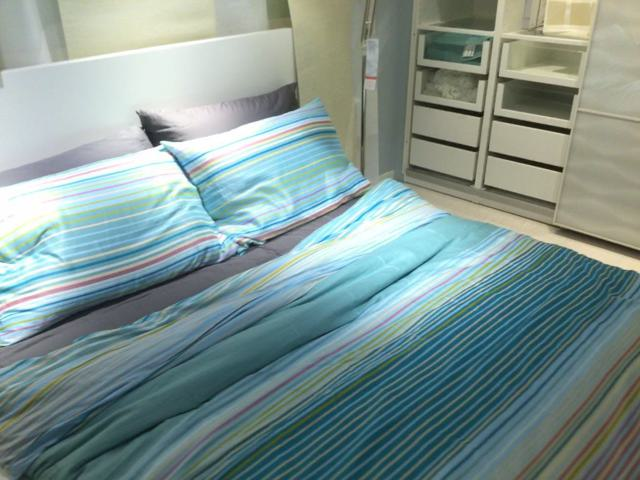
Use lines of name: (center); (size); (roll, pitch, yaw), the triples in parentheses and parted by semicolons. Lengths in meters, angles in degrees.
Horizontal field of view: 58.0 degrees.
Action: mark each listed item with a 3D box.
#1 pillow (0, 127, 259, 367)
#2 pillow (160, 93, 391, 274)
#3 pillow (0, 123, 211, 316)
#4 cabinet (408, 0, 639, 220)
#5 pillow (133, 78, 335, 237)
pillow: (-0.580, 0.000, 1.670); (0.650, 0.470, 0.220); (-23, 1, -35)
pillow: (-0.130, -0.220, 2.050); (0.710, 0.430, 0.190); (-24, 1, -36)
pillow: (-0.750, -0.090, 1.770); (0.730, 0.340, 0.300); (-24, 33, -36)
cabinet: (0.990, -1.390, 2.710); (0.670, 2.360, 0.860); (-25, 34, -37)
pillow: (-0.290, -0.340, 2.190); (0.700, 0.400, 0.250); (-24, 33, -36)
